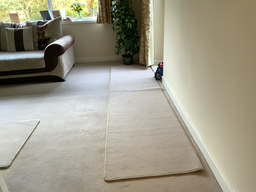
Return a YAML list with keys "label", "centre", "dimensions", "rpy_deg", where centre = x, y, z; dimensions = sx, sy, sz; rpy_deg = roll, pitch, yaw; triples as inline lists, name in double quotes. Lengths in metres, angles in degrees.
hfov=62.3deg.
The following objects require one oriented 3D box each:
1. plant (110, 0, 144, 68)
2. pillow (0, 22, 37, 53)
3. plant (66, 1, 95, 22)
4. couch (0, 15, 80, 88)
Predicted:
- label: "plant"
  centre: [0.010, -1.120, 3.650]
  dimensions: [0.490, 1.140, 0.520]
  rpy_deg: [0, 25, 6]
- label: "pillow"
  centre: [-1.710, -0.920, 3.340]
  dimensions: [0.400, 0.370, 0.150]
  rpy_deg: [-16, 48, -8]
- label: "plant"
  centre: [-0.860, -1.560, 3.890]
  dimensions: [0.430, 0.330, 0.290]
  rpy_deg: [-1, 25, 3]
- label: "couch"
  centre: [-1.970, -0.740, 3.360]
  dimensions: [2.100, 0.860, 1.170]
  rpy_deg: [-4, 25, -2]
